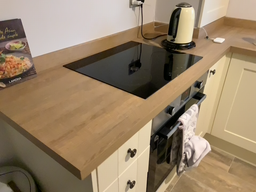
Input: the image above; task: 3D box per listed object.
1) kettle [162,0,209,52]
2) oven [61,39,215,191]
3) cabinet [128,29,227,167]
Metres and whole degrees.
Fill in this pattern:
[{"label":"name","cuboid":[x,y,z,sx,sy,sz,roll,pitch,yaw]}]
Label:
[{"label":"kettle","cuboid":[0.360,-0.460,1.340,0.170,0.280,0.220,23,38,32]},{"label":"oven","cuboid":[0.060,0.200,1.390,0.610,0.920,0.580,23,37,32]},{"label":"cabinet","cuboid":[0.330,0.010,1.700,0.580,0.920,0.320,23,37,32]}]
